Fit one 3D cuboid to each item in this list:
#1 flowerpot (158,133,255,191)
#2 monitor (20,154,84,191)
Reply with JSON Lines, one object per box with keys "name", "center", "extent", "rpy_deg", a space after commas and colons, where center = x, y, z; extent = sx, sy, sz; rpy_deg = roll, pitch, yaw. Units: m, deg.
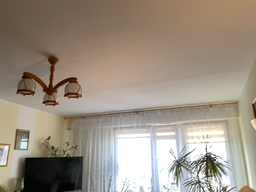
{"name": "flowerpot", "center": [1.190, 1.510, 2.950], "extent": [0.860, 1.800, 1.220], "rpy_deg": [11, -20, -33]}
{"name": "monitor", "center": [-1.300, 1.380, 3.770], "extent": [1.080, 0.660, 0.070], "rpy_deg": [14, -22, -40]}
